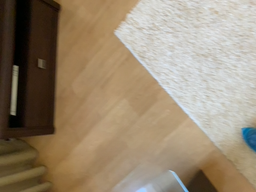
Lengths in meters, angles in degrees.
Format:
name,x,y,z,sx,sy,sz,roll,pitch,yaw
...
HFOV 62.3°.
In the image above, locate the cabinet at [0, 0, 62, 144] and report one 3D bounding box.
name,x,y,z,sx,sy,sz,roll,pitch,yaw
cabinet,-0.860,-0.240,1.590,0.520,0.370,1.080,1,86,28
